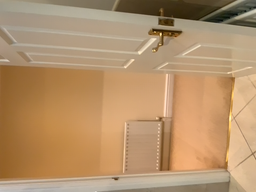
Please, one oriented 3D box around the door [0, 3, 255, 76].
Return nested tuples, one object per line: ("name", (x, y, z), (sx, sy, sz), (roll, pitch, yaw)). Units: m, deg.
("door", (-0.020, -0.230, 1.140), (0.850, 1.970, 0.040), (175, 96, -76))
